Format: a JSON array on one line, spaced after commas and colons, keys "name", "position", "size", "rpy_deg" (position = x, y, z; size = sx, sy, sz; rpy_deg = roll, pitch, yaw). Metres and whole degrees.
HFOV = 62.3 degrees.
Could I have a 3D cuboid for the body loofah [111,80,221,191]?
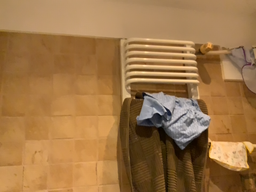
[{"name": "body loofah", "position": [0.140, 0.300, 0.880], "size": [0.370, 0.680, 0.230], "rpy_deg": [1, -13, -15]}]
